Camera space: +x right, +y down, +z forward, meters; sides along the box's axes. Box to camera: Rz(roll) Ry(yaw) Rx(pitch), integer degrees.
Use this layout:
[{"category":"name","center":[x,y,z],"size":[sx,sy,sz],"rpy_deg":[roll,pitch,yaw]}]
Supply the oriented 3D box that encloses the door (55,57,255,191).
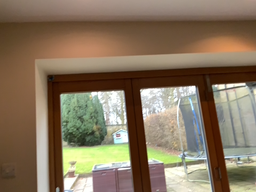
[{"category":"door","center":[0.570,0.750,2.100],"size":[2.410,2.210,0.220],"rpy_deg":[-4,-10,-6]}]
